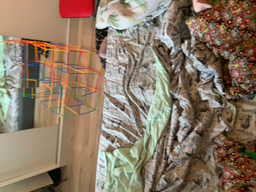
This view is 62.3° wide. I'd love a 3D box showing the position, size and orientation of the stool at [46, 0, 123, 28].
[{"bbox_3d":[-0.420,-0.870,2.010,0.620,0.420,0.350,15,103,40],"label":"stool"}]
